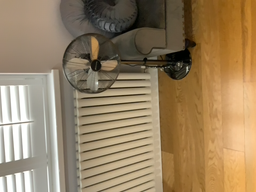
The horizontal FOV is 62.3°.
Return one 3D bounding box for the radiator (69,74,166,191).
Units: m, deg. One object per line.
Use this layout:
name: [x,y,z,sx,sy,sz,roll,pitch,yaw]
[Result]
radiator: [-0.030,0.420,1.640,0.090,0.780,1.160,-1,92,54]
